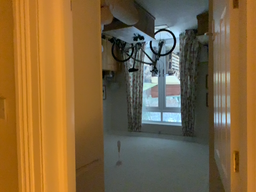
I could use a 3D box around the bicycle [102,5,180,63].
[{"bbox_3d":[0.270,-1.290,4.730,1.600,0.960,0.590,0,-177,29],"label":"bicycle"}]
